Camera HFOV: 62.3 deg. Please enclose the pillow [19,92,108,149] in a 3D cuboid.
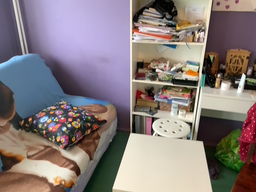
[{"bbox_3d":[-0.520,0.170,1.780,0.510,0.140,0.480,14,28,27],"label":"pillow"}]
